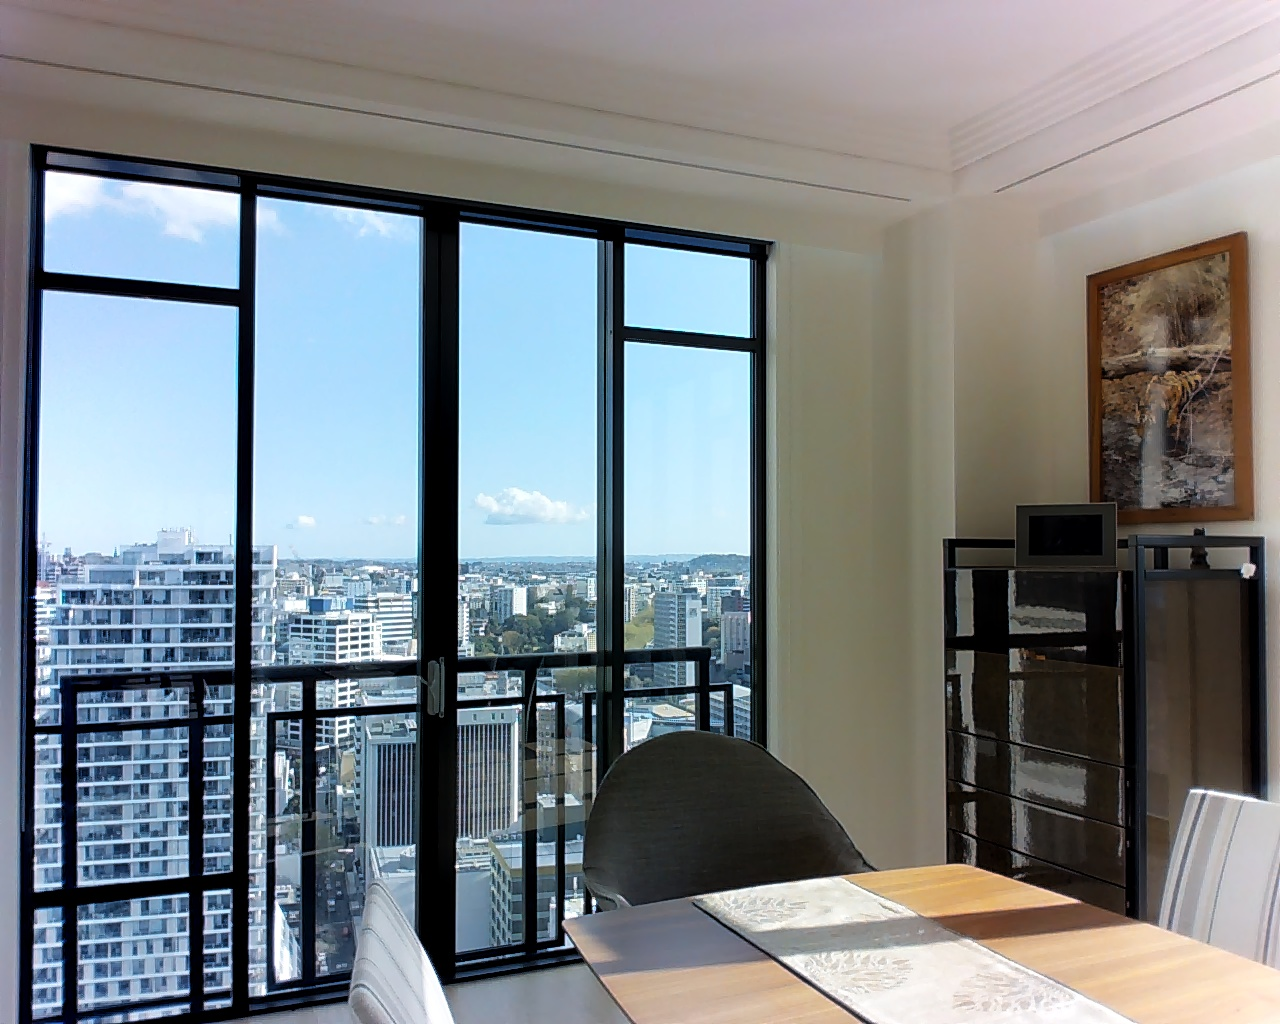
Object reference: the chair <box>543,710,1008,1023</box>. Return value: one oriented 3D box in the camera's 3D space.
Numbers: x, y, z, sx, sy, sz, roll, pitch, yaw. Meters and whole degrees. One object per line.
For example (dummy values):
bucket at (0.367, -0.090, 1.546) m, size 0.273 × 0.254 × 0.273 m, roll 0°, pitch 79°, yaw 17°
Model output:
chair at (0.250, 0.960, 2.310) m, size 0.720 × 0.910 × 0.730 m, roll 1°, pitch -1°, yaw -23°
